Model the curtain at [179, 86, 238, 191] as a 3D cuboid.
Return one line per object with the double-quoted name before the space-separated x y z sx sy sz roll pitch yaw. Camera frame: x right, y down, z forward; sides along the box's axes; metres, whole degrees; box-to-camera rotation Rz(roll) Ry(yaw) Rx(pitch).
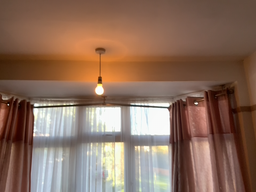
"curtain" 0.770 0.810 2.000 0.190 1.740 0.430 9 -16 -35
